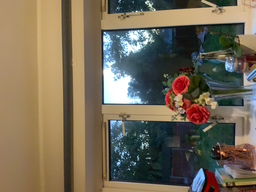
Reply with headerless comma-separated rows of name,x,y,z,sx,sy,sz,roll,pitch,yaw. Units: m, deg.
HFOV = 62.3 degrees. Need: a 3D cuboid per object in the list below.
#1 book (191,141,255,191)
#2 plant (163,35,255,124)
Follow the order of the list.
book,0.530,0.500,1.190,0.230,0.310,0.430,-21,-69,-80
plant,0.460,-0.080,1.180,0.310,0.520,0.420,-8,-82,-81
